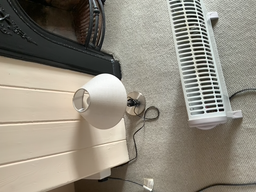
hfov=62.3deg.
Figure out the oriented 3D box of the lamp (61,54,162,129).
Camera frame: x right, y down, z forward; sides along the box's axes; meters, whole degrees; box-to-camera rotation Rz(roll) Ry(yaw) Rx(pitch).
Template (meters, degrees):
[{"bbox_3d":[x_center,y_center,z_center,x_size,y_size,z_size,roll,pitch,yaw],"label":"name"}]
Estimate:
[{"bbox_3d":[-0.050,0.000,1.020,0.210,0.460,0.240,-20,77,30],"label":"lamp"}]
